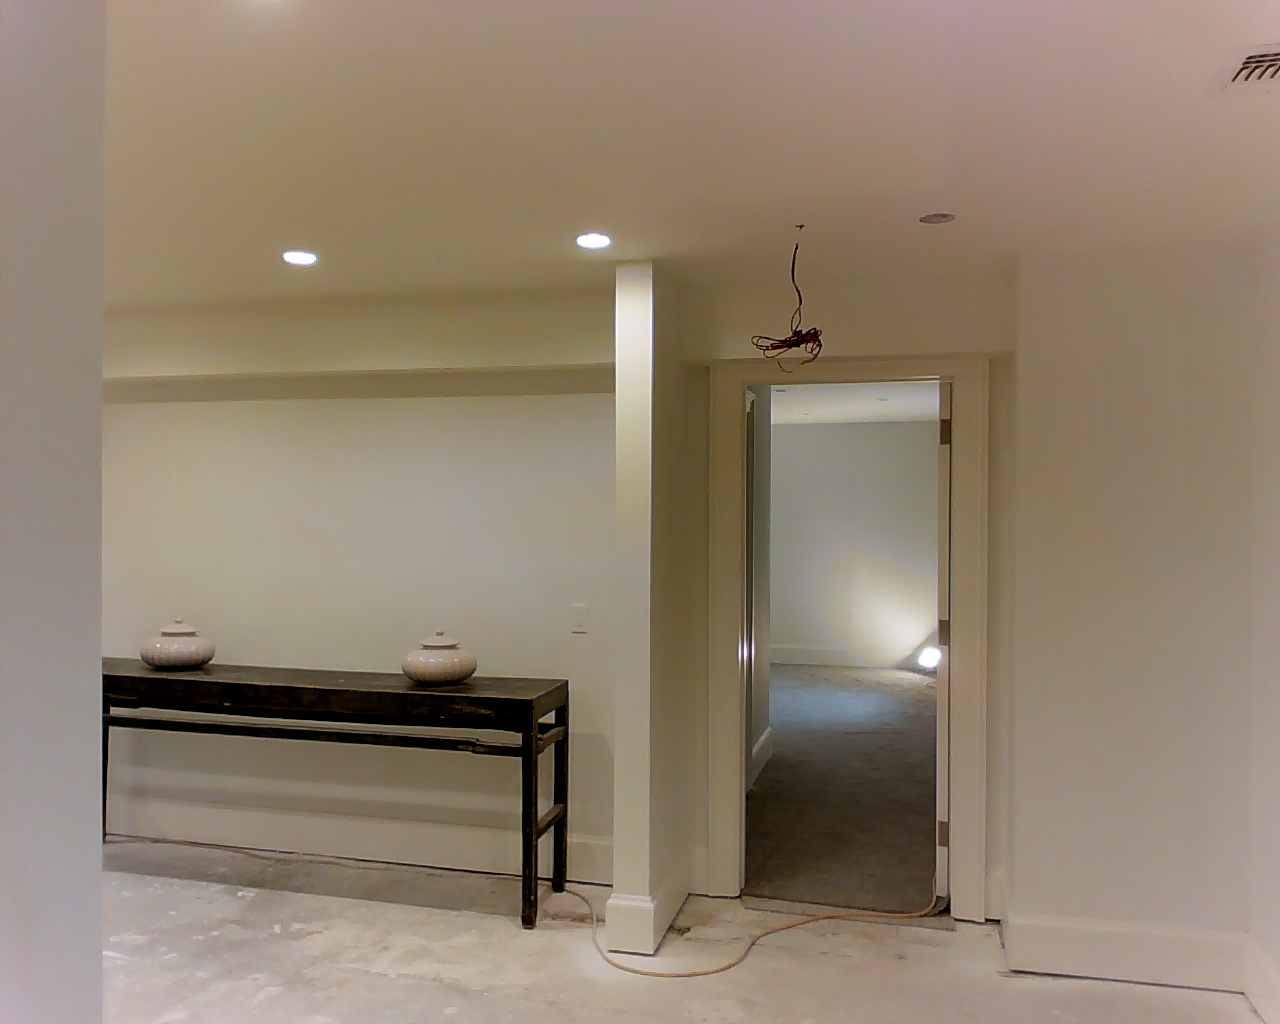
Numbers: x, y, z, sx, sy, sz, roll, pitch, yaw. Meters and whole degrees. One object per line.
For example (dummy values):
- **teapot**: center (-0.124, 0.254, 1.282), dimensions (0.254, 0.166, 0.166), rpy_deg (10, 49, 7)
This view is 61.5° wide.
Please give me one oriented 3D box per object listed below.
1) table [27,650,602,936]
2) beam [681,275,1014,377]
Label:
- **table**: center (-1.370, 1.100, 4.510), dimensions (2.340, 0.870, 0.590), rpy_deg (1, 0, 15)
- **beam**: center (0.780, -0.700, 4.130), dimensions (1.220, 0.310, 0.240), rpy_deg (1, 0, 15)
